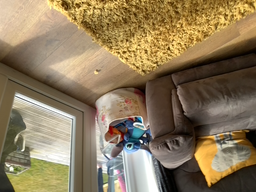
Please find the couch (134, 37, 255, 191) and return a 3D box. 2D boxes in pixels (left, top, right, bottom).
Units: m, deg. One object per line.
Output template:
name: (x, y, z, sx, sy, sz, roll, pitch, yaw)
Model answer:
couch: (0.780, 0.310, 1.640, 1.140, 0.960, 0.970, -15, 145, 9)
